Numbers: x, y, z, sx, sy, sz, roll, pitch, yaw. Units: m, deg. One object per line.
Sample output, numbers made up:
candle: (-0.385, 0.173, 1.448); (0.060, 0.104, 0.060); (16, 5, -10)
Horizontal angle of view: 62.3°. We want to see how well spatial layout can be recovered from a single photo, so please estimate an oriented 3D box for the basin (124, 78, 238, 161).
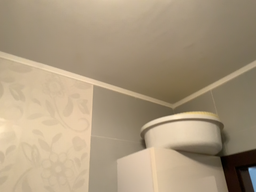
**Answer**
basin: (0.270, 0.170, 1.190); (0.440, 0.290, 0.390); (14, -32, -30)
